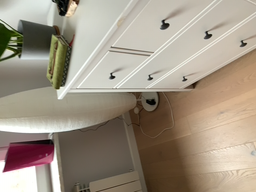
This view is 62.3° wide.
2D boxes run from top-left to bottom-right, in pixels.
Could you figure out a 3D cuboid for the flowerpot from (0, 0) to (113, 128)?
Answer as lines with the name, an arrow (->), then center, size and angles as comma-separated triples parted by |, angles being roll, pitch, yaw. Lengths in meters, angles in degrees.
flowerpot -> -0.490, -0.210, 0.770 | 0.330, 0.700, 0.590 | -34, 63, 50
